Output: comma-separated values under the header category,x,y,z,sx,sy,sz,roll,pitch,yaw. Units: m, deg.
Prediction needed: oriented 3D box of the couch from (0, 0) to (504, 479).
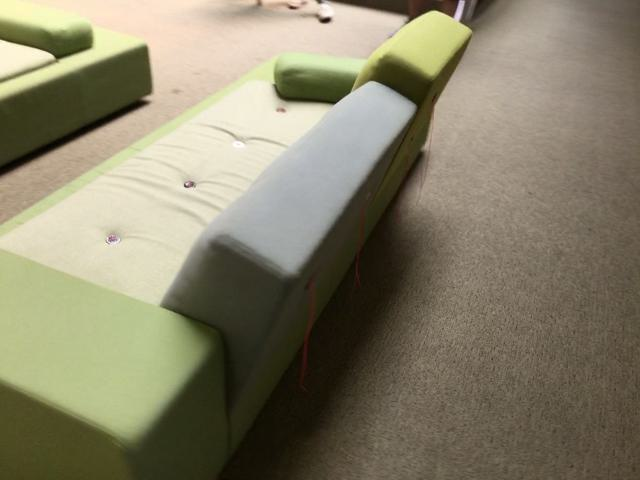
category,x,y,z,sx,sy,sz,roll,pitch,yaw
couch,-0.190,-0.280,1.890,1.020,0.810,2.260,18,36,17

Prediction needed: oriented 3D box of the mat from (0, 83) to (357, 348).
category,x,y,z,sx,sy,sz,roll,pitch,yaw
mat,-0.360,-0.210,1.800,0.490,0.080,1.380,18,36,17
